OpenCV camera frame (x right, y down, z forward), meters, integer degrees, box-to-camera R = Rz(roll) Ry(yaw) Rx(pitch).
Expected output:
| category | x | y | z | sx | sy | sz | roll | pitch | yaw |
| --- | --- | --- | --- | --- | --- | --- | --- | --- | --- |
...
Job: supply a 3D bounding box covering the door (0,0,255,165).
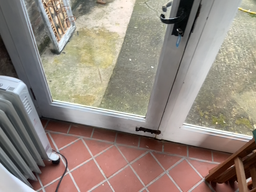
| category | x | y | z | sx | sy | sz | roll | pitch | yaw |
| --- | --- | --- | --- | --- | --- | --- | --- | --- | --- |
| door | 0.320 | -0.360 | 0.720 | 1.640 | 2.020 | 0.120 | 10 | 49 | 2 |
